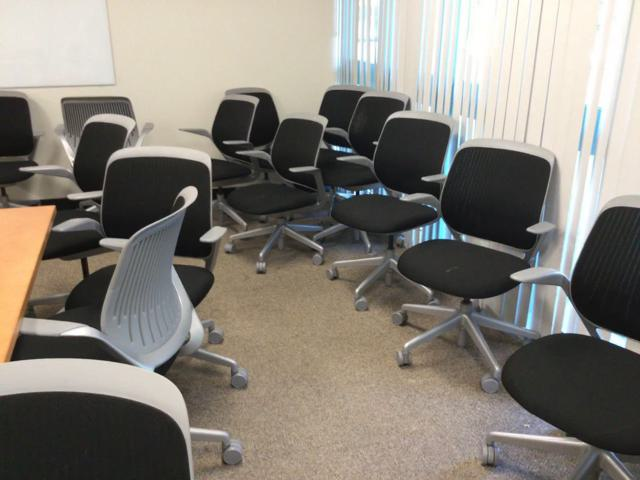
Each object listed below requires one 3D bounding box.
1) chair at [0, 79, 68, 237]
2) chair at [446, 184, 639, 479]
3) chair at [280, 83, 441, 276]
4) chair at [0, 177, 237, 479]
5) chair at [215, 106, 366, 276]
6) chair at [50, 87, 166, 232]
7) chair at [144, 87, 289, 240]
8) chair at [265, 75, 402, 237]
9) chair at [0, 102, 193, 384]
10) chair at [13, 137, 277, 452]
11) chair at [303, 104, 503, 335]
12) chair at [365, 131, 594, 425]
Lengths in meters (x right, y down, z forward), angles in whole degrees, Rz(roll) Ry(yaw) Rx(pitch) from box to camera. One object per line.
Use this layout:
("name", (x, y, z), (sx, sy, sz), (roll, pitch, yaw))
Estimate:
("chair", (-2.110, -0.550, 3.760), (0.740, 0.910, 0.600), (-3, 21, -17))
("chair", (0.810, 0.360, 1.610), (0.570, 0.890, 0.600), (-3, 21, -17))
("chair", (0.210, -0.410, 3.540), (0.660, 1.000, 0.640), (-8, 23, -29))
("chair", (-0.670, 0.340, 1.640), (0.840, 0.920, 0.540), (0, 20, -10))
("chair", (-0.200, -0.330, 3.420), (0.610, 0.810, 0.640), (-10, 24, -33))
("chair", (-1.410, -0.570, 3.940), (0.640, 0.850, 0.590), (-3, 21, -17))
("chair", (-0.680, -0.550, 3.850), (0.630, 0.830, 0.670), (19, 25, 36))
("chair", (0.070, -0.620, 4.030), (0.670, 0.970, 0.600), (-11, 24, -35))
("chair", (-1.130, -0.070, 2.600), (0.790, 0.950, 0.740), (19, 25, 36))
("chair", (-0.680, 0.120, 2.230), (0.750, 0.880, 0.730), (-8, 23, -30))
("chair", (0.400, -0.160, 2.920), (0.640, 0.930, 0.680), (20, 25, 38))
("chair", (0.620, 0.100, 2.360), (0.570, 0.960, 0.560), (21, 26, 40))
